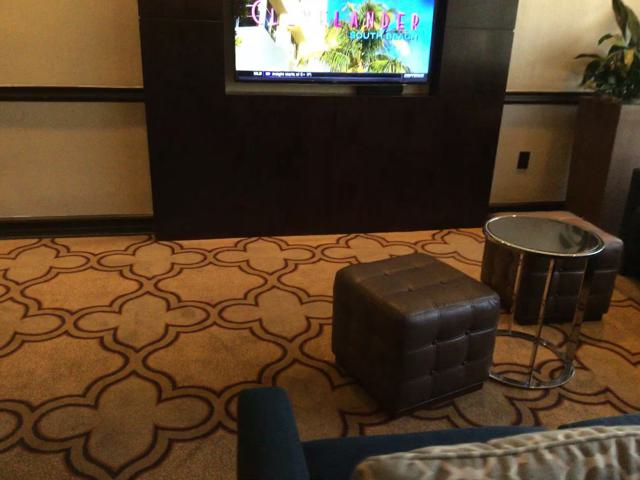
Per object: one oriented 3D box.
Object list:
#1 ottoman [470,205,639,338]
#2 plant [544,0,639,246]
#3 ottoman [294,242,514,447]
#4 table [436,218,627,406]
[{"bbox_3d":[1.150,0.130,2.880,0.560,0.440,0.590,-2,21,-8],"label":"ottoman"},{"bbox_3d":[2.100,-0.820,3.670,0.820,1.550,0.690,-2,21,-8],"label":"plant"},{"bbox_3d":[0.300,0.360,2.290,0.590,0.450,0.600,-11,24,-29],"label":"ottoman"},{"bbox_3d":[0.810,0.270,2.330,0.510,0.600,0.420,-2,21,-8],"label":"table"}]
